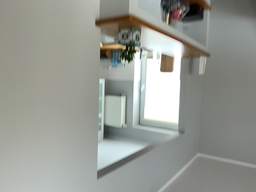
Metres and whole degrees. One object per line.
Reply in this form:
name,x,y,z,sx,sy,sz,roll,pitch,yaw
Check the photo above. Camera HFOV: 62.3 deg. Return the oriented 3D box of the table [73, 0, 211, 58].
table,0.340,-1.040,2.020,0.430,1.140,1.840,5,-175,34
